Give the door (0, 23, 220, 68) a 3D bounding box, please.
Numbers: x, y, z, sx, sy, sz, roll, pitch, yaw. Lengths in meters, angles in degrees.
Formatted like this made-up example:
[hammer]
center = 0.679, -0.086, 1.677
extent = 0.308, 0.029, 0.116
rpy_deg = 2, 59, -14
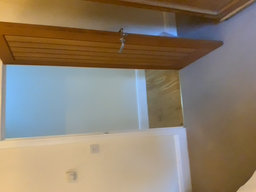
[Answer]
[door]
center = -0.160, -0.430, 2.080
extent = 0.730, 2.020, 0.040
rpy_deg = 154, 113, -68
